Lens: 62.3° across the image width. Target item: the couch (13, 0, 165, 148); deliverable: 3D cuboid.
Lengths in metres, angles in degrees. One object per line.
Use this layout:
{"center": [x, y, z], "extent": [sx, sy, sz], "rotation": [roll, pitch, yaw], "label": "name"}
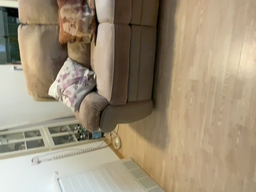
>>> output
{"center": [-0.420, -0.640, 1.900], "extent": [1.040, 1.020, 1.700], "rotation": [26, 117, 57], "label": "couch"}
